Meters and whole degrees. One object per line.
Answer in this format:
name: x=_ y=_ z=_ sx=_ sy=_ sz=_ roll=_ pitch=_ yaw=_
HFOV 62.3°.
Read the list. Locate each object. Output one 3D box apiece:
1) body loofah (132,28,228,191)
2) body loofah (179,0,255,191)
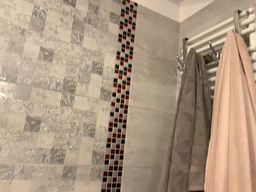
body loofah: x=0.240 y=0.180 z=0.990 sx=0.270 sy=0.860 sz=0.310 roll=13 pitch=-14 yaw=-29
body loofah: x=0.360 y=0.240 z=0.740 sx=0.240 sy=1.200 sz=0.250 roll=13 pitch=-14 yaw=-28
